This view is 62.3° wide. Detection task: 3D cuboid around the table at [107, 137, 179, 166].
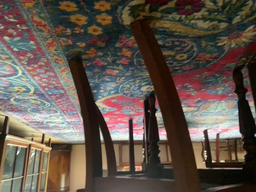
[{"bbox_3d":[0.240,1.030,3.940,1.260,0.460,0.490,-1,163,-5],"label":"table"}]
